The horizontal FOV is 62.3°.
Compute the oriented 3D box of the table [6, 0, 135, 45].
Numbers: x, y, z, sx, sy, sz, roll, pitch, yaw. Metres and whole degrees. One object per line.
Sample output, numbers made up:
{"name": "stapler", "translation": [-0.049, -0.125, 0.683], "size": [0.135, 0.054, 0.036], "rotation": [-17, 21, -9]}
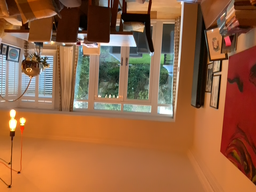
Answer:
{"name": "table", "translation": [-1.020, -1.550, 4.210], "size": [2.230, 0.810, 1.050], "rotation": [3, -177, 6]}
